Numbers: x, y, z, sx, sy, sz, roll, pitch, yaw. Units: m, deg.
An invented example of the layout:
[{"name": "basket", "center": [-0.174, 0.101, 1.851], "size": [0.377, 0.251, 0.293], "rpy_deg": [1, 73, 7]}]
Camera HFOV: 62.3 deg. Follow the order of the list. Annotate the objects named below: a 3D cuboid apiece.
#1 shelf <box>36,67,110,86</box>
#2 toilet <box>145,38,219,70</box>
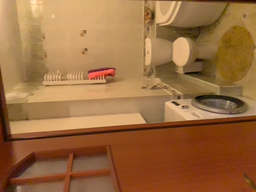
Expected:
[{"name": "shelf", "center": [-0.720, -0.280, 2.910], "size": [0.550, 0.890, 0.120], "rpy_deg": [-124, 32, -71]}, {"name": "toilet", "center": [0.680, -0.590, 2.850], "size": [0.630, 0.750, 0.370], "rpy_deg": [-127, 35, -72]}]
